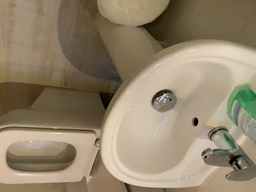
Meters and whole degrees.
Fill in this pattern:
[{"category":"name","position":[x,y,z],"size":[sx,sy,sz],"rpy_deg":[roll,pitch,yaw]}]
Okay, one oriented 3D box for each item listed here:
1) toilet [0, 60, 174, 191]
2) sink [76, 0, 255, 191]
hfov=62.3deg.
[{"category":"toilet","position":[-0.290,0.270,0.970],"size":[0.620,0.830,0.430],"rpy_deg":[6,124,-25]},{"category":"sink","position":[0.100,0.040,0.530],"size":[0.350,0.140,0.460],"rpy_deg":[6,124,-25]}]
